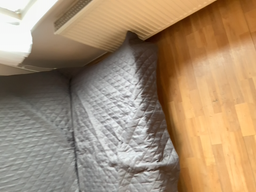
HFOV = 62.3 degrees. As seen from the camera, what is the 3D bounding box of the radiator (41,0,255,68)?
[{"bbox_3d":[0.140,-0.560,1.330,1.190,0.790,0.250,-19,74,37],"label":"radiator"}]
